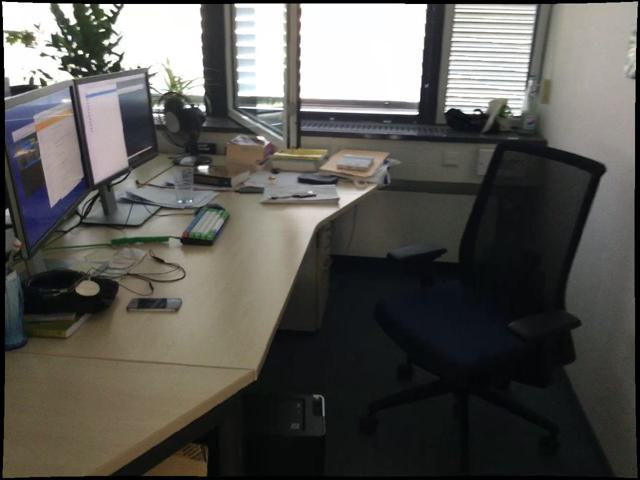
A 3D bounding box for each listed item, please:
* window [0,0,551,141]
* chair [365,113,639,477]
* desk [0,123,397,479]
[{"bbox_3d":[-0.629,-1.602,3.080,3.557,2.012,0.410,2,23,8],"label":"window"},{"bbox_3d":[0.639,0.120,2.010,0.729,0.951,0.650,-10,24,-21],"label":"chair"},{"bbox_3d":[-0.799,0.280,1.940,2.028,0.781,2.760,2,23,8],"label":"desk"}]
